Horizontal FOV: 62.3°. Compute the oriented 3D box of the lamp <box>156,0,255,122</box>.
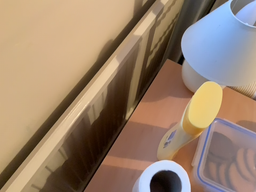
[{"bbox_3d":[0.190,-0.090,0.460,0.170,0.220,0.160,27,62,11],"label":"lamp"}]
